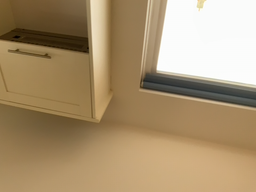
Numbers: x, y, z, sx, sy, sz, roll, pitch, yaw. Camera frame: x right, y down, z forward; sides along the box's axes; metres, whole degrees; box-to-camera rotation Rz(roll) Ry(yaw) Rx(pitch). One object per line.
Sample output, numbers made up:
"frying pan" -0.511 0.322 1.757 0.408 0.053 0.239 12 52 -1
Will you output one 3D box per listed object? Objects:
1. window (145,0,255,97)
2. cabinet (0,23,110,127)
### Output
"window" 0.620 -0.550 1.140 0.920 1.150 0.190 8 -145 5
"cabinet" -0.450 -0.130 1.260 0.630 0.450 0.280 10 -144 7
